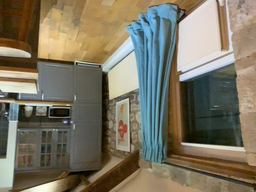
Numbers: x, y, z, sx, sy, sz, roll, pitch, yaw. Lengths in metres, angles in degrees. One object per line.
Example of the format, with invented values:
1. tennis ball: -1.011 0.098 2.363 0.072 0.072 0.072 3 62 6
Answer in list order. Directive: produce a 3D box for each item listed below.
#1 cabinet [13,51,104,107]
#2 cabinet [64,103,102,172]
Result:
1. cabinet: -1.440 -0.290 4.550 1.680 0.940 0.700 3 171 -22
2. cabinet: -0.980 0.860 4.580 0.660 1.340 0.650 3 171 -22
